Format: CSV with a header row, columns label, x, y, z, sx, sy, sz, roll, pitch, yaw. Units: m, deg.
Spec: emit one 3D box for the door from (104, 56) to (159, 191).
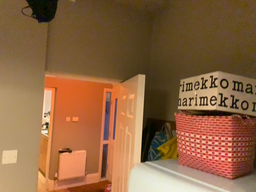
label,x,y,z,sx,sy,sz,roll,pitch,yaw
door,-0.070,0.860,1.820,0.150,2.160,1.230,4,-2,-10
